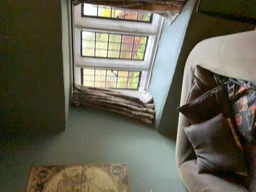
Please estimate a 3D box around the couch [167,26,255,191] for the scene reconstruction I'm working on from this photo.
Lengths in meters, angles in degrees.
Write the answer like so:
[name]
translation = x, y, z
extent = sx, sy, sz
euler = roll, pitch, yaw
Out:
[couch]
translation = 0.930, 0.230, 1.700
extent = 1.120, 0.740, 1.390
euler = -126, 39, -74
